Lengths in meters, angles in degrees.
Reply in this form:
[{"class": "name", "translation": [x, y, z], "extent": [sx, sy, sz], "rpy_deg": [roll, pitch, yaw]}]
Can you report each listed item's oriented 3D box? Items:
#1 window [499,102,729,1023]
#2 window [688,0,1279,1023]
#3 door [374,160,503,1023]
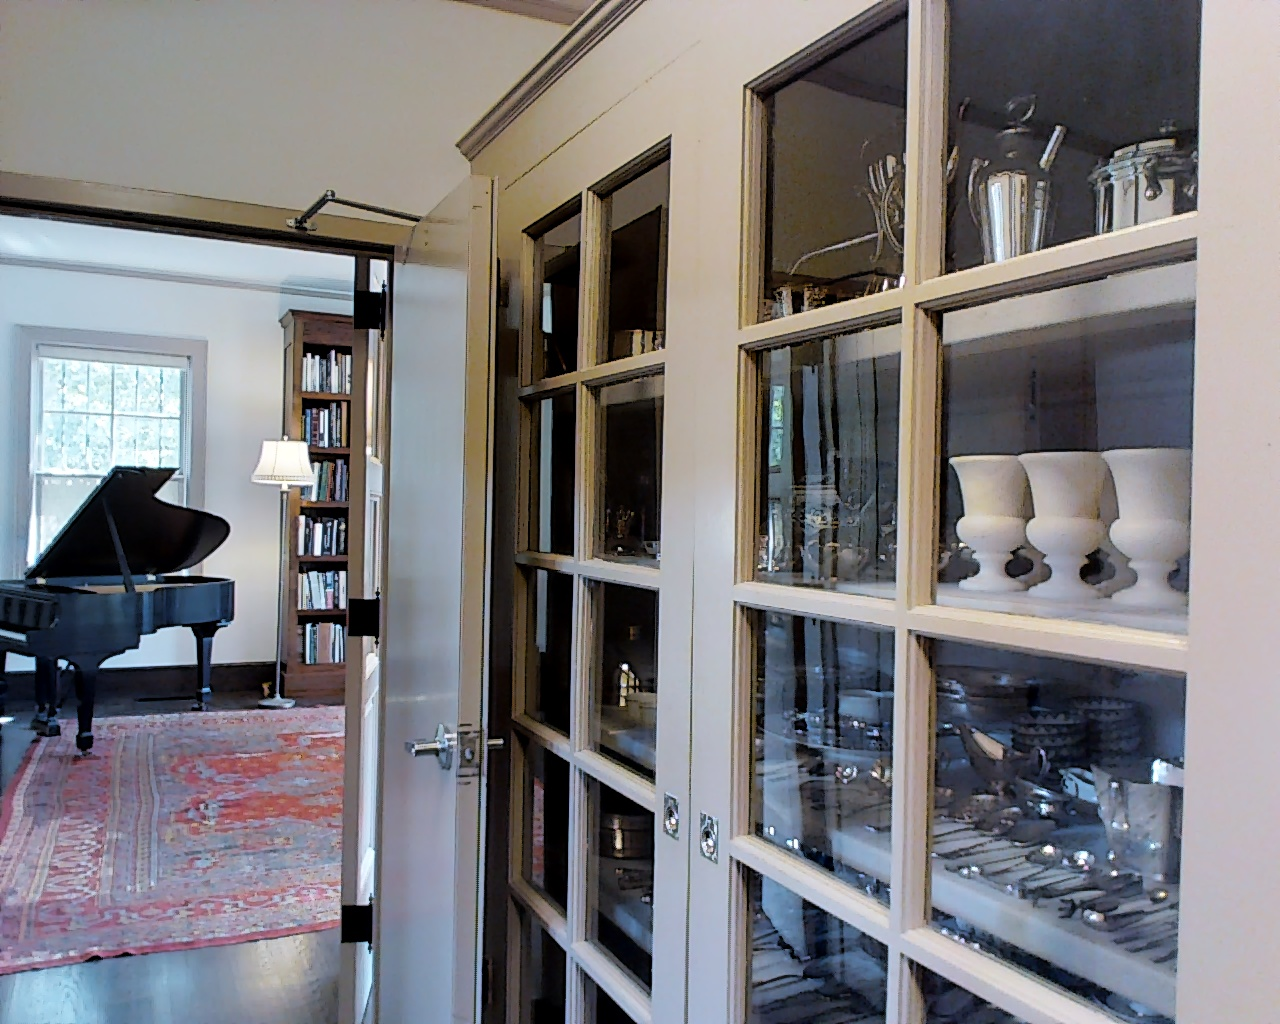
[{"class": "window", "translation": [-0.080, 0.290, 1.890], "extent": [0.080, 1.770, 0.720], "rpy_deg": [1, 0, -26]}, {"class": "window", "translation": [0.430, 0.440, 1.170], "extent": [0.280, 2.180, 1.040], "rpy_deg": [1, 0, -26]}, {"class": "door", "translation": [-0.450, 0.420, 2.280], "extent": [0.060, 2.120, 0.710], "rpy_deg": [1, 0, -25]}]
